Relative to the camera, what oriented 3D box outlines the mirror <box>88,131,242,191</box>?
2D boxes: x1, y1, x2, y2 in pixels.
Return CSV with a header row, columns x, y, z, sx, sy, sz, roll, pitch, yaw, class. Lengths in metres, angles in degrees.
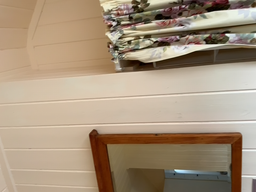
x,y,z,sx,sy,sz,roll,pitch,yaw,class
0.170,0.410,1.020,0.070,0.660,0.480,-55,-41,-69,mirror
